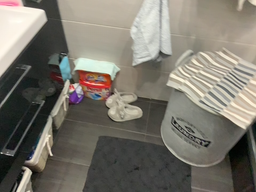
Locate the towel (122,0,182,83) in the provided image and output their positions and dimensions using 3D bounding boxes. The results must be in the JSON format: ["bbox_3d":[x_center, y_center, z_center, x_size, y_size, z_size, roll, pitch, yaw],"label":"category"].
[{"bbox_3d":[0.120,-0.370,1.140,0.250,0.590,0.180,16,51,11],"label":"towel"}]
